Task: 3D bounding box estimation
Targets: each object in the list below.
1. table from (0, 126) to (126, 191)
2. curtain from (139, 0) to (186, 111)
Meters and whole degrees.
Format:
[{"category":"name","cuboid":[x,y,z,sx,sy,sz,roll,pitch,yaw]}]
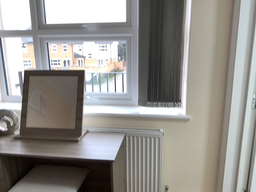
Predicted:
[{"category":"table","cuboid":[-0.640,0.680,1.610,1.190,0.760,0.420,1,13,8]},{"category":"curtain","cuboid":[0.250,-0.480,1.600,0.330,1.200,0.110,1,13,8]}]
